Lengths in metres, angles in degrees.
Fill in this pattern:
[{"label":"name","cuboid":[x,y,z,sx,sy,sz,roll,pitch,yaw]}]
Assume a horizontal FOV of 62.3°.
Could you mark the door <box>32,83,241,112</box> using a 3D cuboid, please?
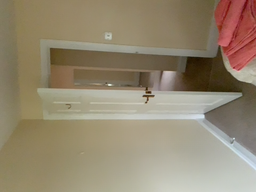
[{"label":"door","cuboid":[0.100,0.050,2.310,0.740,1.980,0.080,126,143,-70]}]
